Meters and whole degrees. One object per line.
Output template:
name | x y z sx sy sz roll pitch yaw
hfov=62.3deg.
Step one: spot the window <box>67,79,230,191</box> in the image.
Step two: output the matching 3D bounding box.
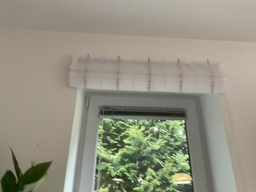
window | 0.120 0.630 1.250 0.920 1.510 0.210 3 -26 -5
